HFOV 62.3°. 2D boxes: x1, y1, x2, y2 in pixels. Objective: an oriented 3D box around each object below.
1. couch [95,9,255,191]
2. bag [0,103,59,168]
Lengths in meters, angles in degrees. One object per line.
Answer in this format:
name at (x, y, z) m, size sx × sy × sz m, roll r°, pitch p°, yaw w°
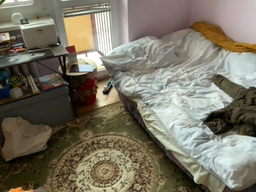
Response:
couch at (0.670, -0.180, 1.990) m, size 1.320 × 0.760 × 1.870 m, roll -16°, pitch 36°, yaw -21°
bag at (-0.880, 0.310, 1.790) m, size 0.450 × 0.240 × 0.320 m, roll -22°, pitch 38°, yaw -28°
